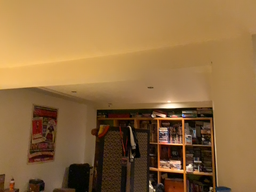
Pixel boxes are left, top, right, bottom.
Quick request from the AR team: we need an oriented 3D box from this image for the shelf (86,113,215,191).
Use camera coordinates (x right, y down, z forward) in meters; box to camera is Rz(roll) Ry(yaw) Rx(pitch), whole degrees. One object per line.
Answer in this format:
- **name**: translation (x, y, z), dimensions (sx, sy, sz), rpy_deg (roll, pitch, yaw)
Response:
- **shelf**: translation (0.390, 1.430, 4.220), dimensions (2.440, 2.080, 0.520), rpy_deg (-3, -11, 21)
